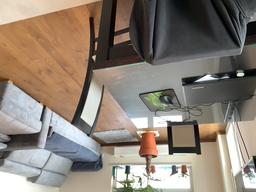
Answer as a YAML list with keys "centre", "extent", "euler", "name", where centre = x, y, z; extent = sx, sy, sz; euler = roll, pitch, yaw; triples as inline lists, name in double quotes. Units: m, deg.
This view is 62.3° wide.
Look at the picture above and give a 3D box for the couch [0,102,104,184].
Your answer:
- centre: [-1.430, 1.090, 4.140]
  extent: [1.050, 0.950, 2.300]
  euler: [-6, 151, 15]
  name: "couch"
